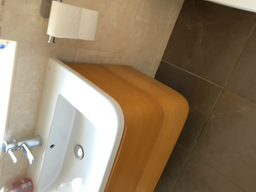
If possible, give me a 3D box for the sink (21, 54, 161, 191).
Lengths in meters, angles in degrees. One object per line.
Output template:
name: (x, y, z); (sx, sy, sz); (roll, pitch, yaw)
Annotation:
sink: (-0.220, 0.270, 0.910); (0.450, 0.170, 0.760); (33, 114, 33)
